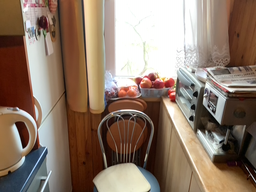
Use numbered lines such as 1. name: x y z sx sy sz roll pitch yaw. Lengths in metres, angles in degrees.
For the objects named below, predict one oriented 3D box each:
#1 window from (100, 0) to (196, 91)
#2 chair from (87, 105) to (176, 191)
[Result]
1. window: 0.140 -0.720 1.530 0.660 1.360 0.160 3 22 2
2. chair: -0.010 0.560 1.480 0.430 0.780 0.690 1 22 -3
